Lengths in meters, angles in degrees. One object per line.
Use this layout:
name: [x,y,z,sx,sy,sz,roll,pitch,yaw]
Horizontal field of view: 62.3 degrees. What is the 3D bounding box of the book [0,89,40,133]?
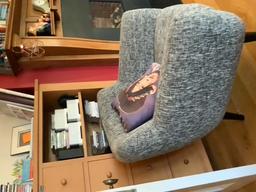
book: [-0.890,0.120,1.640,0.250,0.350,0.220,109,151,-57]
